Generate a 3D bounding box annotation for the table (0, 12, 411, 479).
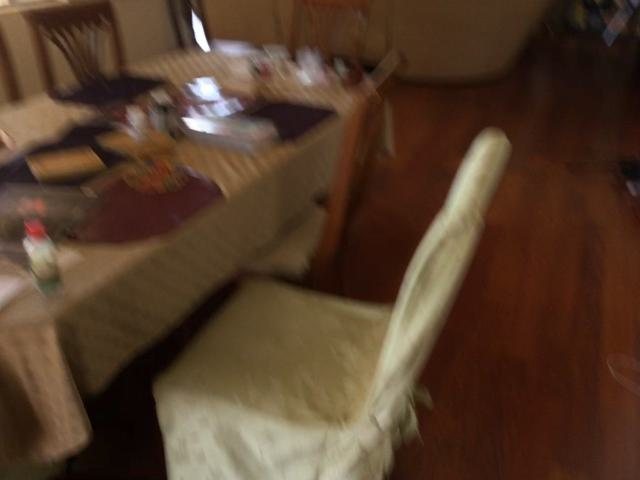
[{"bbox_3d":[-0.610,-0.090,2.140,1.190,0.890,2.190,15,36,19],"label":"table"}]
